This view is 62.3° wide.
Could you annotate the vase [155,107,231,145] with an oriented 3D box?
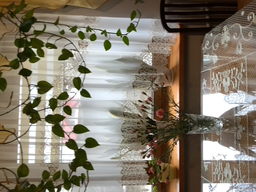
[{"bbox_3d":[0.390,0.180,1.360,0.310,0.370,0.210,153,118,-82],"label":"vase"}]
